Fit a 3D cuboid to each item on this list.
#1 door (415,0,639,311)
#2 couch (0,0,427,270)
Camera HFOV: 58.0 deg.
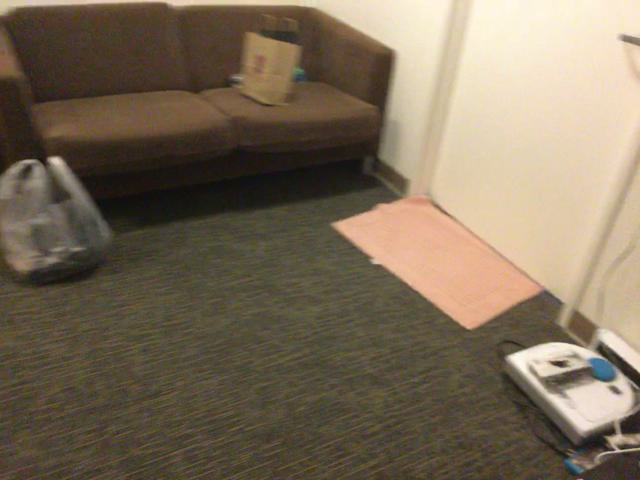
[{"bbox_3d":[0.770,-0.770,1.910,0.070,1.910,0.870,-12,38,-26],"label":"door"},{"bbox_3d":[-0.560,-0.610,2.600,1.700,0.740,0.960,-12,38,-26],"label":"couch"}]
